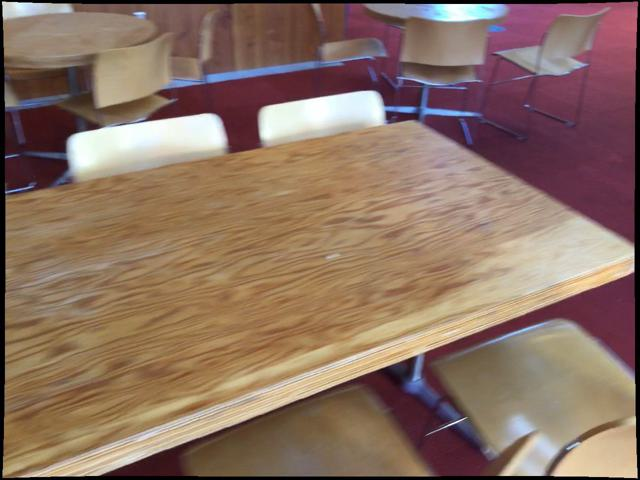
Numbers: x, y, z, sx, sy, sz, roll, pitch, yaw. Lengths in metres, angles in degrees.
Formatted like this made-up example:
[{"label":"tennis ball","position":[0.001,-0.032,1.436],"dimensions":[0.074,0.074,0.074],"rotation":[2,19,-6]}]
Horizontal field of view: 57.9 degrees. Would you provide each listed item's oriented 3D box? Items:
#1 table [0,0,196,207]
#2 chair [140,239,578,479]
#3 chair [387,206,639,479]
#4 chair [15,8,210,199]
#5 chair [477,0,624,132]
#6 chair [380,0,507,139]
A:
[{"label":"table","position":[-1.289,-0.801,3.100],"dimensions":[0.929,0.710,0.930],"rotation":[-15,37,-22]},{"label":"chair","position":[0.010,0.501,1.130],"dimensions":[0.480,0.720,0.580],"rotation":[-15,37,-23]},{"label":"chair","position":[0.539,0.410,1.310],"dimensions":[0.500,0.710,0.550],"rotation":[-15,37,-23]},{"label":"chair","position":[-0.989,-0.701,2.870],"dimensions":[0.580,0.680,0.580],"rotation":[23,40,29]},{"label":"chair","position":[1.429,-1.151,3.670],"dimensions":[0.530,0.710,0.500],"rotation":[-15,37,-23]},{"label":"chair","position":[0.709,-1.051,3.450],"dimensions":[0.609,0.680,0.520],"rotation":[6,34,8]}]
